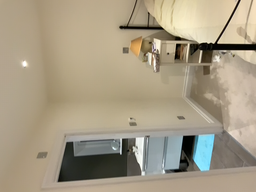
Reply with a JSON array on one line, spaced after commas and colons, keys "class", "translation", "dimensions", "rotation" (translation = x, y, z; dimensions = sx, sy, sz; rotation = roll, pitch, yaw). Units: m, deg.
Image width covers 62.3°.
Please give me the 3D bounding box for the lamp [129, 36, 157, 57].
[{"class": "lamp", "translation": [0.210, -0.730, 3.110], "dimensions": [0.310, 0.330, 0.240], "rotation": [-112, 23, -66]}]
